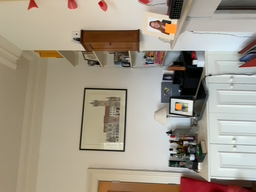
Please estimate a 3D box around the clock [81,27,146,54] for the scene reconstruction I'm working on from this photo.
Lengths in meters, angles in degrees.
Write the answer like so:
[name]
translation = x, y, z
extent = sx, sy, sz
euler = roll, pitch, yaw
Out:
[clock]
translation = -0.130, -0.540, 2.090
extent = 0.300, 0.590, 0.140
euler = 73, -161, -81
